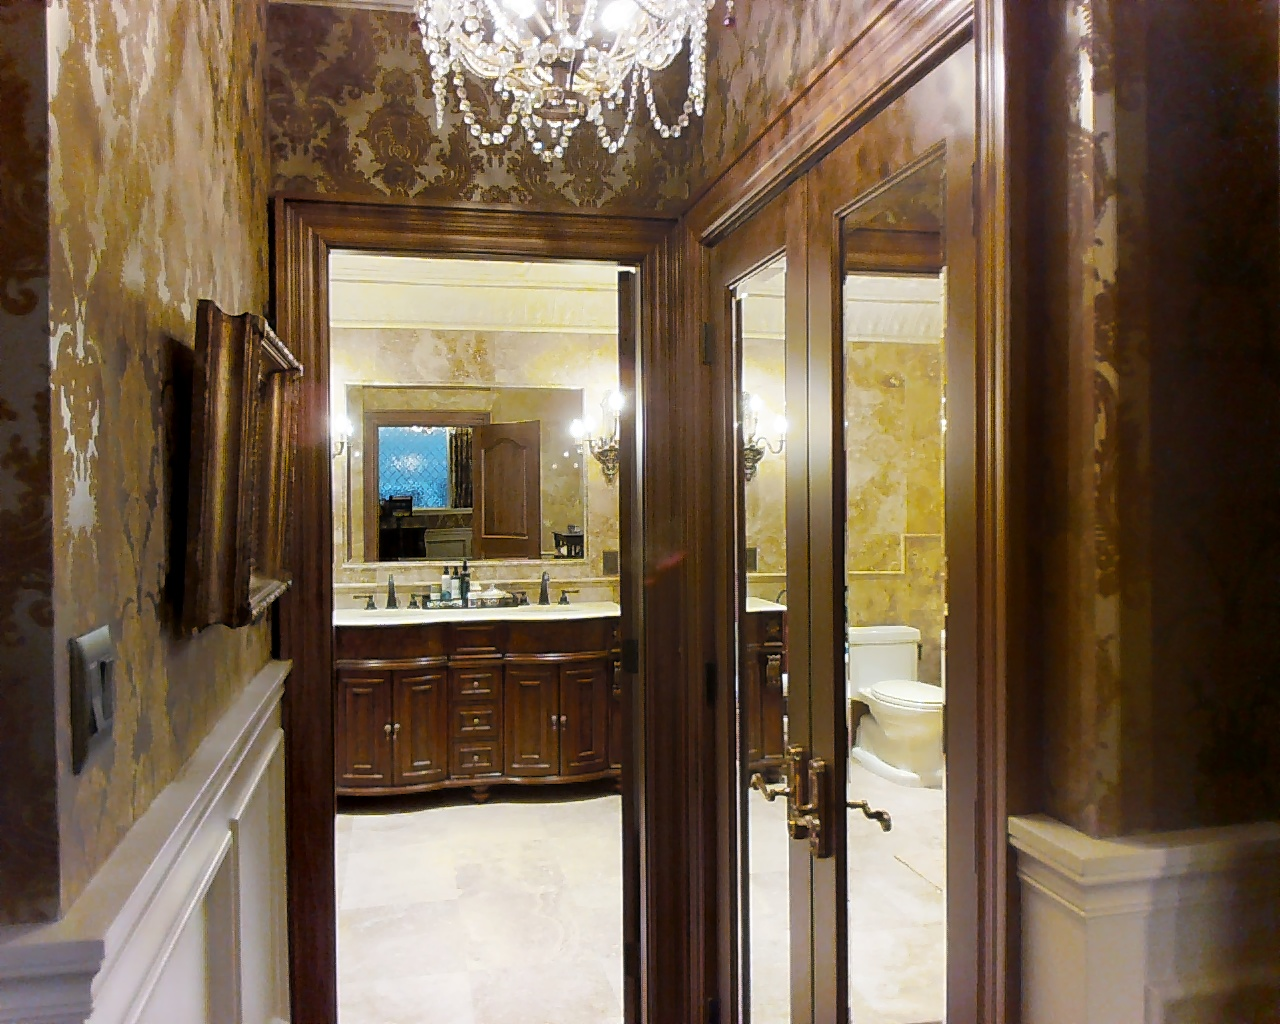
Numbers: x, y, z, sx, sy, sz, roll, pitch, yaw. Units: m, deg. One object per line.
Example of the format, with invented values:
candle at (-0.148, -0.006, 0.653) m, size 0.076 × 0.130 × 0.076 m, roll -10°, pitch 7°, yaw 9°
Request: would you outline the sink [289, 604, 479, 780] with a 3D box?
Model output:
sink at (-1.210, 0.830, 5.130) m, size 0.830 × 0.710 × 0.550 m, roll -1°, pitch 0°, yaw -12°
